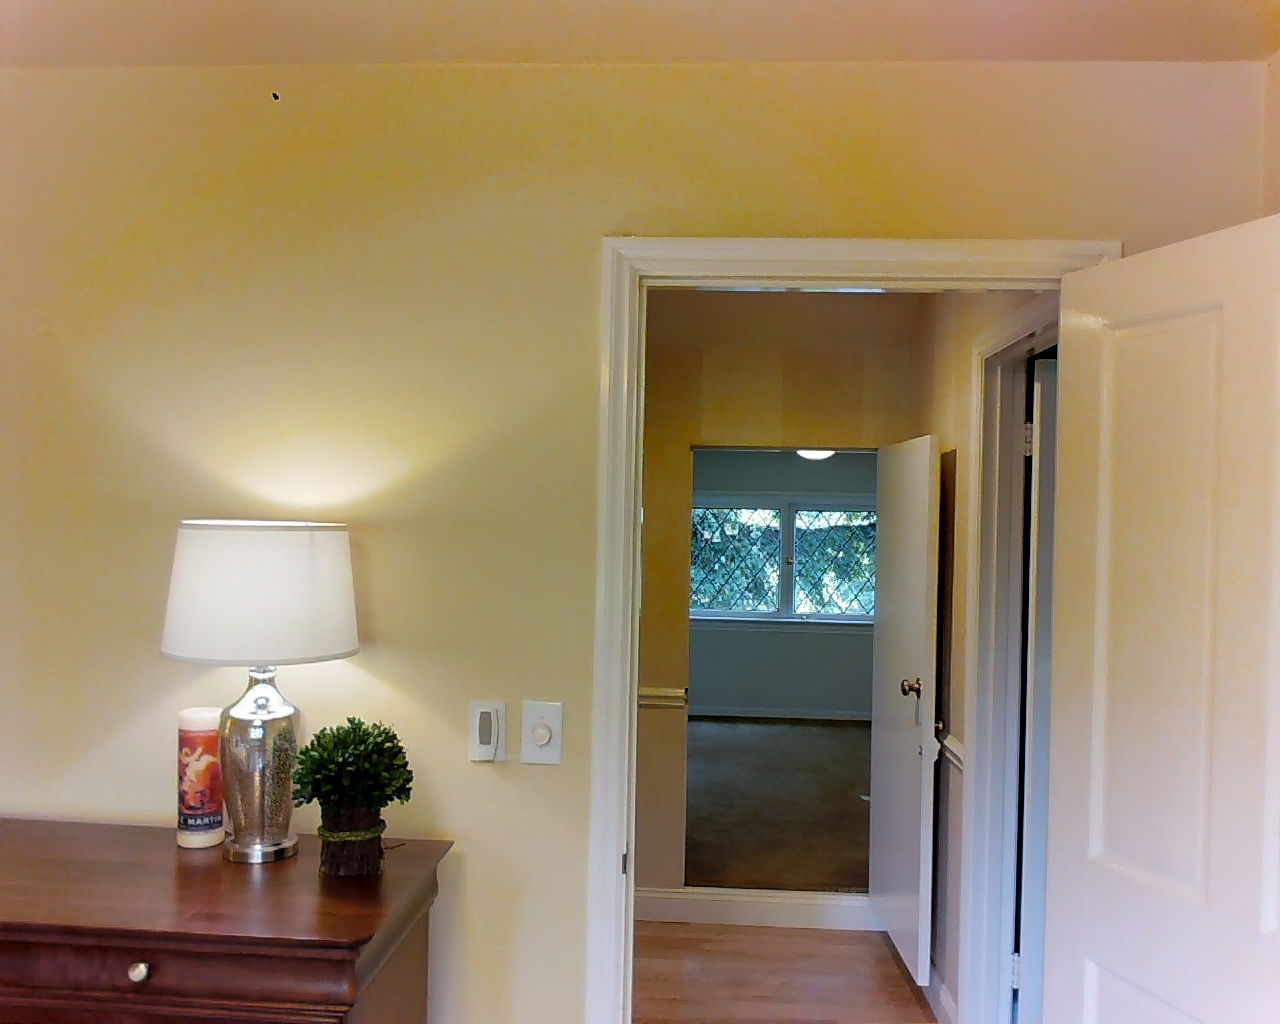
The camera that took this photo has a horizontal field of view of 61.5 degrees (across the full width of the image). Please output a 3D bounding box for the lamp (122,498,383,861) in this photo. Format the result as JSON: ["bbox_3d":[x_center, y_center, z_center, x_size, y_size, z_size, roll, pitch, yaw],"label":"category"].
[{"bbox_3d":[-0.670,0.270,1.910,0.320,0.580,0.320,1,0,5],"label":"lamp"}]
